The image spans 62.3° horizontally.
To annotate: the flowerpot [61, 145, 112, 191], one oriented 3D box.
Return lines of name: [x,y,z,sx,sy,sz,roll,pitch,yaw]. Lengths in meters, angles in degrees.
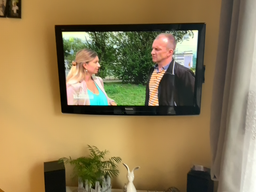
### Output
flowerpot: [-0.320,0.660,1.750,0.340,0.390,0.330,1,7,3]
